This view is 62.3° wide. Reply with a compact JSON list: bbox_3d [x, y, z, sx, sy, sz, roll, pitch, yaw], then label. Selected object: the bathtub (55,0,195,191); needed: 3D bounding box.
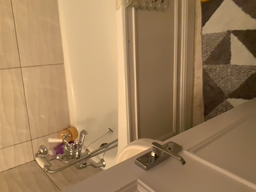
[{"bbox_3d":[-0.030,-0.390,1.410,0.680,0.590,1.660,13,110,47],"label":"bathtub"}]
